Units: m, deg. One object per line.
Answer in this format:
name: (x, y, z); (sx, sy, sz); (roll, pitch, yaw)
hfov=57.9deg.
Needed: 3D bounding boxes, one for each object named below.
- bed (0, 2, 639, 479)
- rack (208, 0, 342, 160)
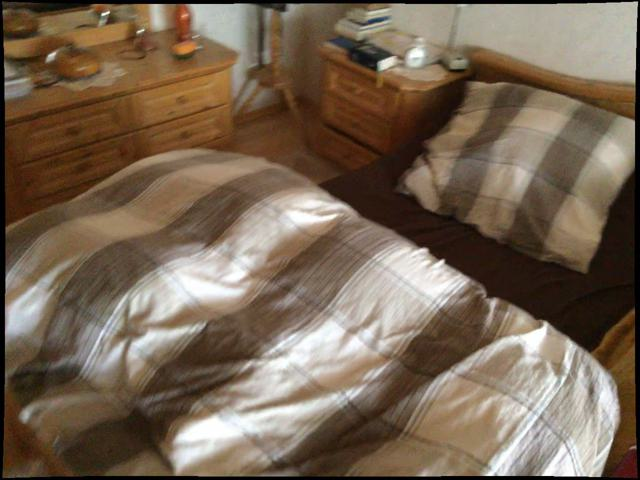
bed: (0.589, 0.330, 1.380); (2.239, 0.790, 2.260); (-28, 48, -33)
rack: (-0.210, -1.251, 2.590); (0.400, 1.681, 0.500); (-28, 48, -33)
